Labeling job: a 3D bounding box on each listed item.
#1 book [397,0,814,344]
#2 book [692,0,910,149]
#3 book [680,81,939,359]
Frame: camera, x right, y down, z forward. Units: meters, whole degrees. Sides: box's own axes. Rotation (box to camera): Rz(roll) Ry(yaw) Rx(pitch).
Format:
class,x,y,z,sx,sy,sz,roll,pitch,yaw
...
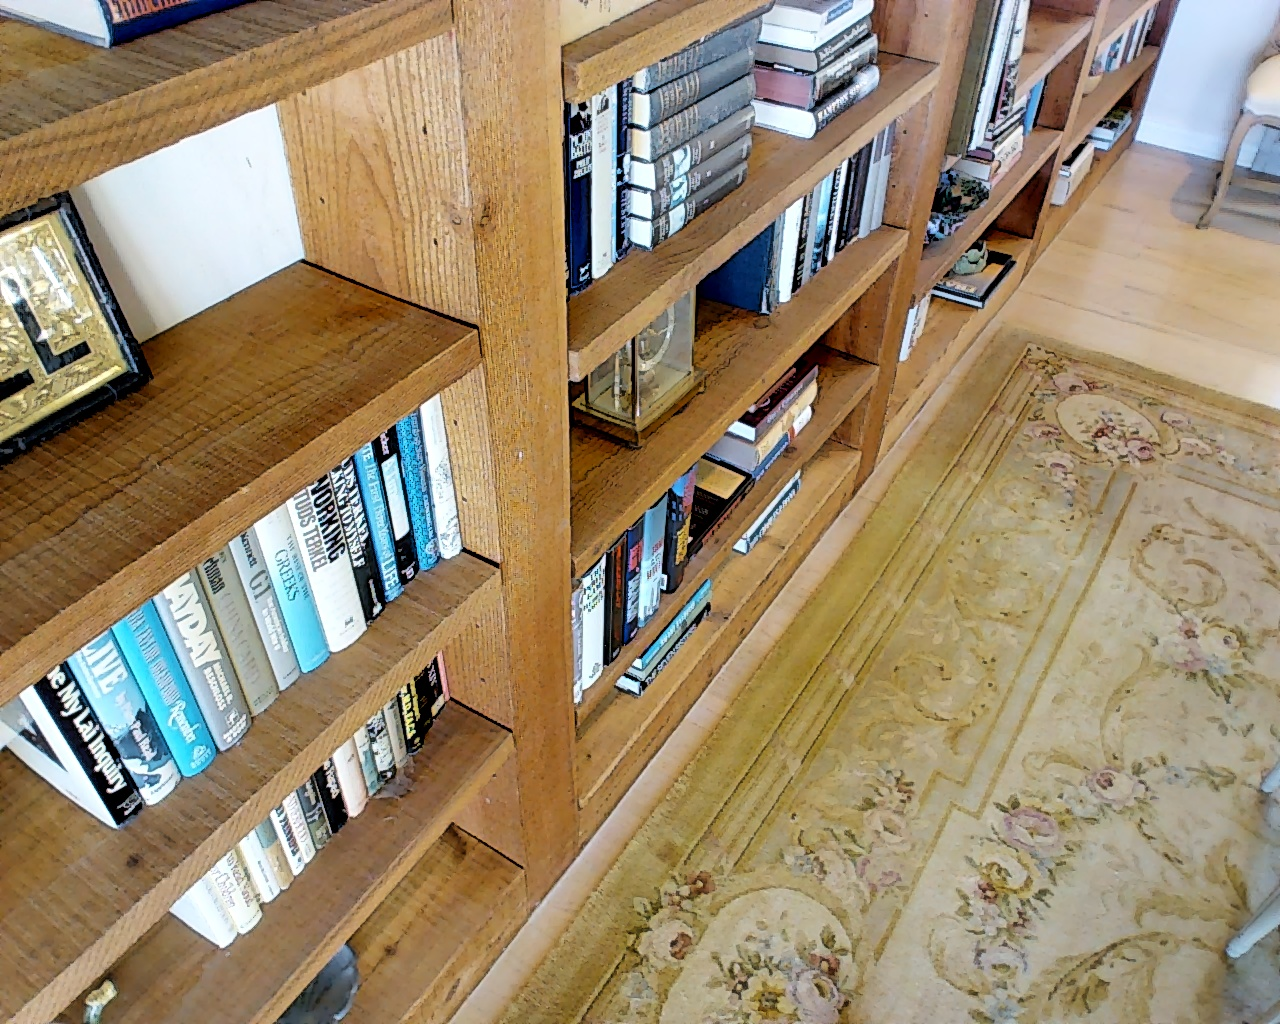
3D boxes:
class,x,y,z,sx,sy,sz,roll,pitch,yaw
book,-0.020,-0.470,1.300,0.230,0.290,0.480,26,47,25
book,0.250,-0.720,1.660,0.210,0.180,0.280,26,47,25
book,0.290,-0.510,1.830,0.200,0.260,0.480,26,47,25
